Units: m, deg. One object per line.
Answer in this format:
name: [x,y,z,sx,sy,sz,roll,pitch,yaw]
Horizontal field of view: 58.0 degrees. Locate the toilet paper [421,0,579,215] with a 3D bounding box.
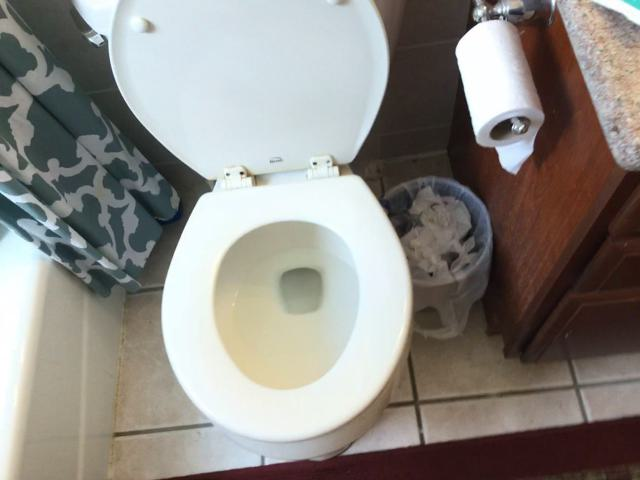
toilet paper: [0.200,-0.170,0.700,0.110,0.190,0.200,-7,62,3]
